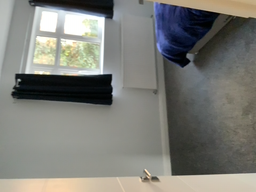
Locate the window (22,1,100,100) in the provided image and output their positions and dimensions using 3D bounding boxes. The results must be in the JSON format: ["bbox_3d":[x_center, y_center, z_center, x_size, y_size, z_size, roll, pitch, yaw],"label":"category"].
[{"bbox_3d":[-1.080,-0.810,3.700,0.210,1.140,1.740,125,146,-65],"label":"window"}]
